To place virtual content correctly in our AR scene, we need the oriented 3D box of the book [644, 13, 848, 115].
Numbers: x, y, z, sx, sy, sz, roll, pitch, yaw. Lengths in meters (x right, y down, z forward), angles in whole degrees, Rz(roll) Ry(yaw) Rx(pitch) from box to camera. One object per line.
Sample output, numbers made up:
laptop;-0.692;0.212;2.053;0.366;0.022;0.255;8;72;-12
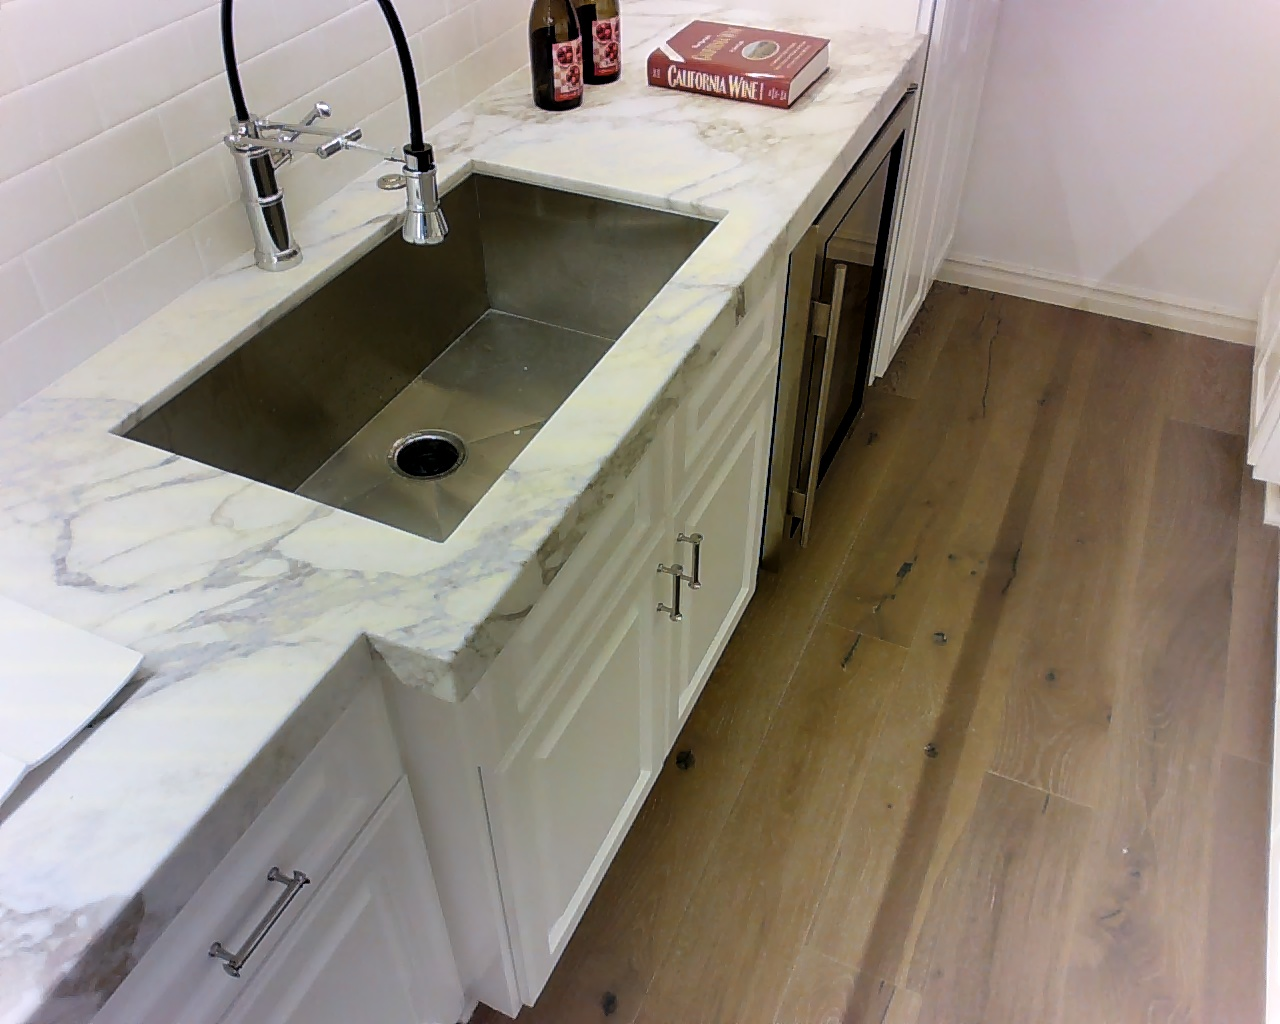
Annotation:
book;0.190;-0.800;1.910;0.290;0.060;0.240;17;45;19
